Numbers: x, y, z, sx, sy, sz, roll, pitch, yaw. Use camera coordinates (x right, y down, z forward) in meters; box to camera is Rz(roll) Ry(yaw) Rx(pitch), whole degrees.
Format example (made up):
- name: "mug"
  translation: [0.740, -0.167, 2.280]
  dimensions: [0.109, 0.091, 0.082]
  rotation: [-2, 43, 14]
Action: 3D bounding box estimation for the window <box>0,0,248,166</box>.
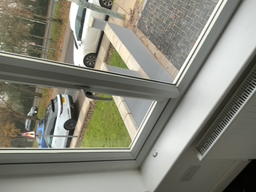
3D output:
- name: "window"
  translation: [-0.200, -0.450, 0.620]
  dimensions: [1.870, 1.510, 0.110]
  rotation: [-65, 33, 28]
